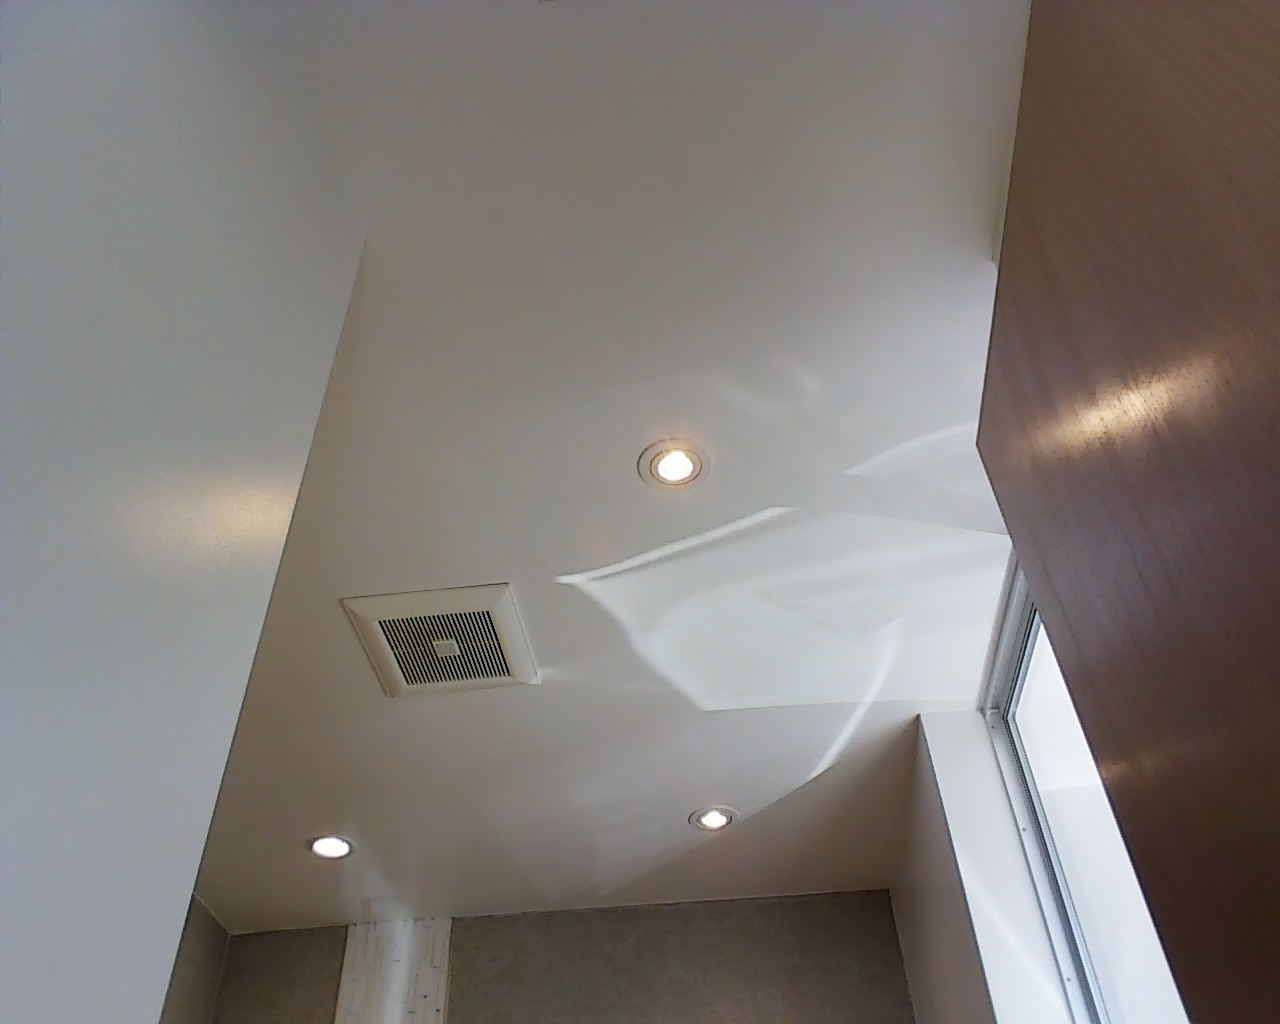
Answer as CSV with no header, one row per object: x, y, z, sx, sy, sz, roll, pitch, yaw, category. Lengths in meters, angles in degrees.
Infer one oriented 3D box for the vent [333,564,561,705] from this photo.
-0.380,0.260,2.200,0.380,0.390,0.030,-5,47,3,vent
